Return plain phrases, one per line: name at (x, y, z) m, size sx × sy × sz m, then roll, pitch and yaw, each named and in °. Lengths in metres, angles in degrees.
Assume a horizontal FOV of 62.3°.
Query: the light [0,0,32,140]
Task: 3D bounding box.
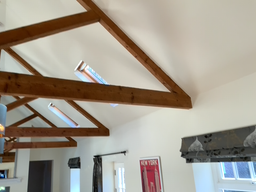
light at (-1.900, -0.510, 2.900) m, size 0.680 × 2.130 × 0.860 m, roll -3°, pitch -17°, yaw -3°
